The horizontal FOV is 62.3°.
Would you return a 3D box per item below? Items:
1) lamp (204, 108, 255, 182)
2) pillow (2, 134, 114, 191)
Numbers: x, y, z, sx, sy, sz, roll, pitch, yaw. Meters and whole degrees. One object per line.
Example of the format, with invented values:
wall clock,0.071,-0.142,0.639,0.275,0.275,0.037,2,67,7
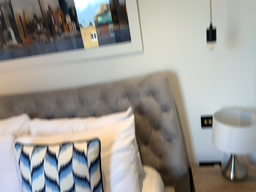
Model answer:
lamp,0.650,0.290,1.280,0.310,0.350,0.240,-6,16,11
pillow,-0.310,0.410,1.010,0.440,0.400,0.190,-4,4,11
